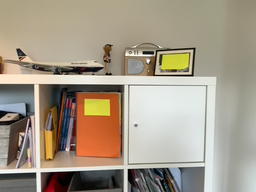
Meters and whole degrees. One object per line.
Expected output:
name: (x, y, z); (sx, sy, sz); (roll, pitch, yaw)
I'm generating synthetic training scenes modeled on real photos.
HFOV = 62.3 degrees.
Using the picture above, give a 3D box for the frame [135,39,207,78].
frame: (0.200, -0.180, 1.110); (0.290, 0.170, 0.310); (1, 5, -4)
